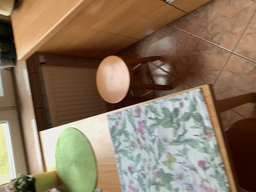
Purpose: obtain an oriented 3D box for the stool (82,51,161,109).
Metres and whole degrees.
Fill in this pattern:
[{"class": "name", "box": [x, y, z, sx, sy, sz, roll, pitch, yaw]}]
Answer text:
[{"class": "stool", "box": [-0.040, -0.110, 1.580, 0.300, 0.460, 0.310, -17, 82, 40]}]
